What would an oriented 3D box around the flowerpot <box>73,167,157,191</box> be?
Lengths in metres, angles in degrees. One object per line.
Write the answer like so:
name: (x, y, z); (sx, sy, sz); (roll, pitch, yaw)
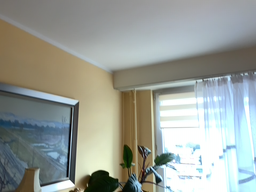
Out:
flowerpot: (-0.060, 0.860, 1.840); (0.390, 0.350, 0.790); (-5, -12, 26)
